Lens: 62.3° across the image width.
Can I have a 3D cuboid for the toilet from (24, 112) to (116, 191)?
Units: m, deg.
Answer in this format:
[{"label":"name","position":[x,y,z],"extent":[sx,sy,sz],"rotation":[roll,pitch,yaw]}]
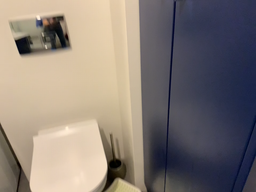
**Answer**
[{"label":"toilet","position":[-0.300,0.470,1.230],"extent":[0.380,0.470,0.540],"rotation":[-11,33,-11]}]
